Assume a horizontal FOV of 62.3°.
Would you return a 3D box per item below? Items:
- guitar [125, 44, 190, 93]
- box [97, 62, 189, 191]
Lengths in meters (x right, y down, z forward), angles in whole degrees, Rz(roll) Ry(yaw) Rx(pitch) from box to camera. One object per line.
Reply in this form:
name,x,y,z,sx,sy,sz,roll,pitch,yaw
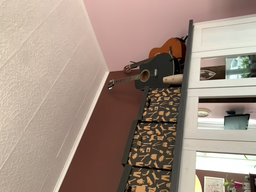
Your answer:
guitar,0.370,-0.310,2.540,0.390,0.660,0.380,66,-148,-42
box,0.160,0.560,1.680,0.520,0.460,1.840,64,-147,-44
